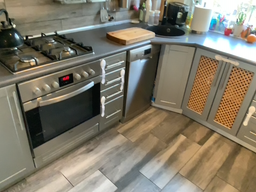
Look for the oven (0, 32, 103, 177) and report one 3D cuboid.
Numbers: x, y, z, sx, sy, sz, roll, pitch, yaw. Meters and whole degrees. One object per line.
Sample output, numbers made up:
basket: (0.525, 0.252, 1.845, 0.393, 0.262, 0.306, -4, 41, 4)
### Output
oven: (-0.650, 0.020, 1.720, 0.610, 0.830, 0.620, 30, 39, 33)
